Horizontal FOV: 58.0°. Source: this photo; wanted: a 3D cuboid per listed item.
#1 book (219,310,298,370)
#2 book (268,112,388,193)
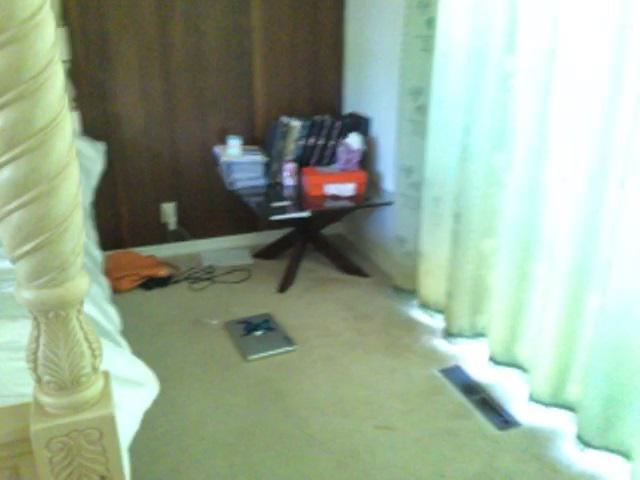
[{"bbox_3d":[-0.270,0.420,2.480,0.240,0.050,0.360,-7,22,-22],"label":"book"},{"bbox_3d":[0.040,-0.490,3.180,0.610,0.370,0.220,-7,22,-22],"label":"book"}]
